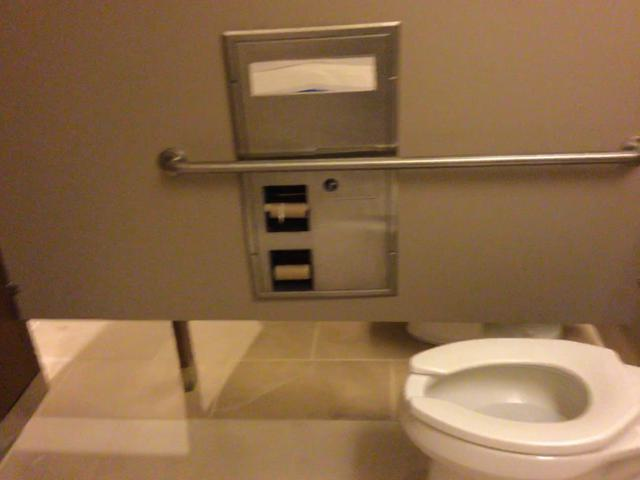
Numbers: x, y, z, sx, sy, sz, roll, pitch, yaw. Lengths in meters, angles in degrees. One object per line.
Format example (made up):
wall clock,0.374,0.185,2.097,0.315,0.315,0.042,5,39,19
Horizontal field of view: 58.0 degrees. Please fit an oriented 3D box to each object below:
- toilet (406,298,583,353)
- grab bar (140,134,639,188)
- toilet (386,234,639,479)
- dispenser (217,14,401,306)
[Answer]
toilet,0.620,0.310,2.130,0.600,0.110,0.180,0,26,8
grab bar,0.160,-0.200,1.490,1.270,0.090,0.080,0,26,8
toilet,0.530,0.400,1.290,0.740,0.730,0.390,0,26,8
dispenser,0.000,-0.190,1.610,0.440,0.790,0.130,0,26,8
